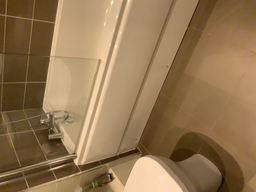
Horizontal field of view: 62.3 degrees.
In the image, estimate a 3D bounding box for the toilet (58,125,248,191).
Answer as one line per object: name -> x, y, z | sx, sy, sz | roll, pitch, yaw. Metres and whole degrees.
toilet -> 0.100, 0.600, 1.100 | 0.390, 0.850, 0.650 | 42, 124, 38
